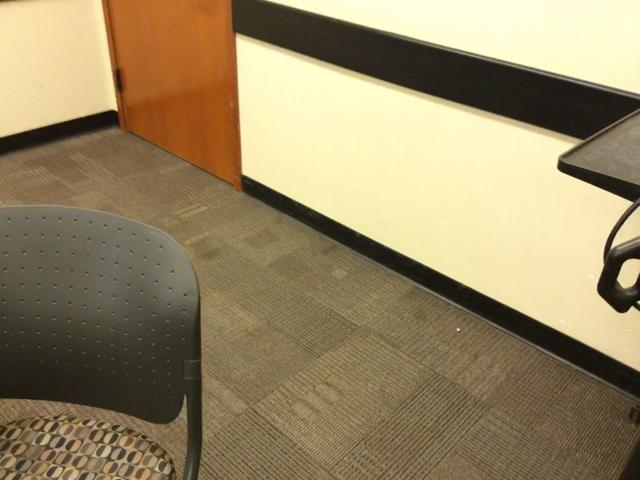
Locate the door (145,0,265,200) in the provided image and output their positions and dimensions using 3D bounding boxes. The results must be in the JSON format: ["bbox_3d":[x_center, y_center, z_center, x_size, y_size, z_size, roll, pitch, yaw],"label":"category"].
[{"bbox_3d":[-0.560,-0.740,2.660,0.080,0.880,0.780,-22,42,-40],"label":"door"}]
